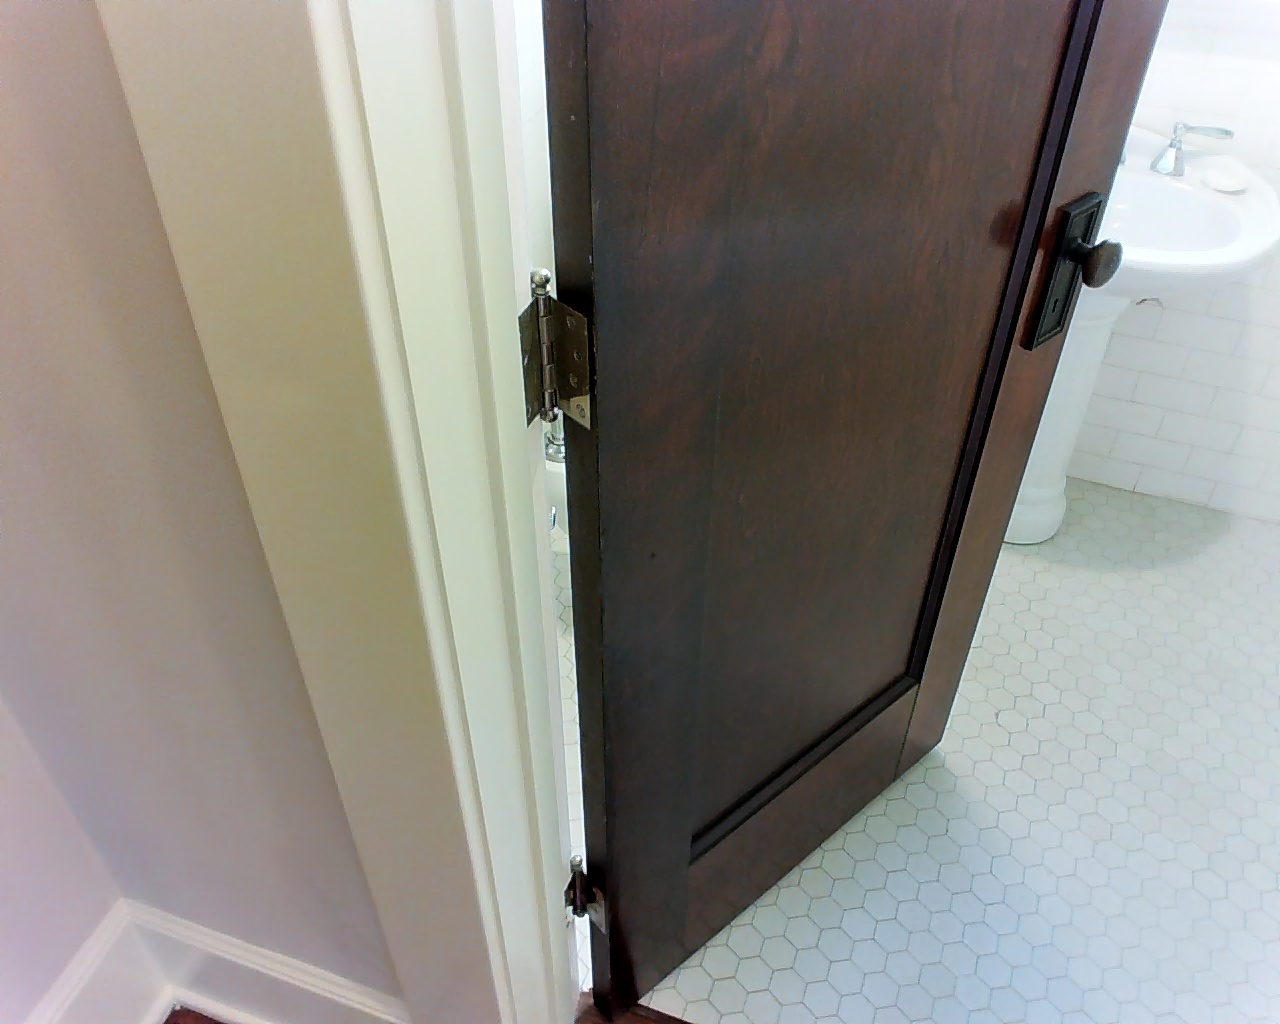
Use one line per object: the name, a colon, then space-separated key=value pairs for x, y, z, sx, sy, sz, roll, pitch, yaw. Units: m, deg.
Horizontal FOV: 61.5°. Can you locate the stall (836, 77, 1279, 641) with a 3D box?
stall: x=0.790 y=-0.290 z=2.070 sx=0.620 sy=0.830 sz=0.510 roll=14 pitch=44 yaw=15
